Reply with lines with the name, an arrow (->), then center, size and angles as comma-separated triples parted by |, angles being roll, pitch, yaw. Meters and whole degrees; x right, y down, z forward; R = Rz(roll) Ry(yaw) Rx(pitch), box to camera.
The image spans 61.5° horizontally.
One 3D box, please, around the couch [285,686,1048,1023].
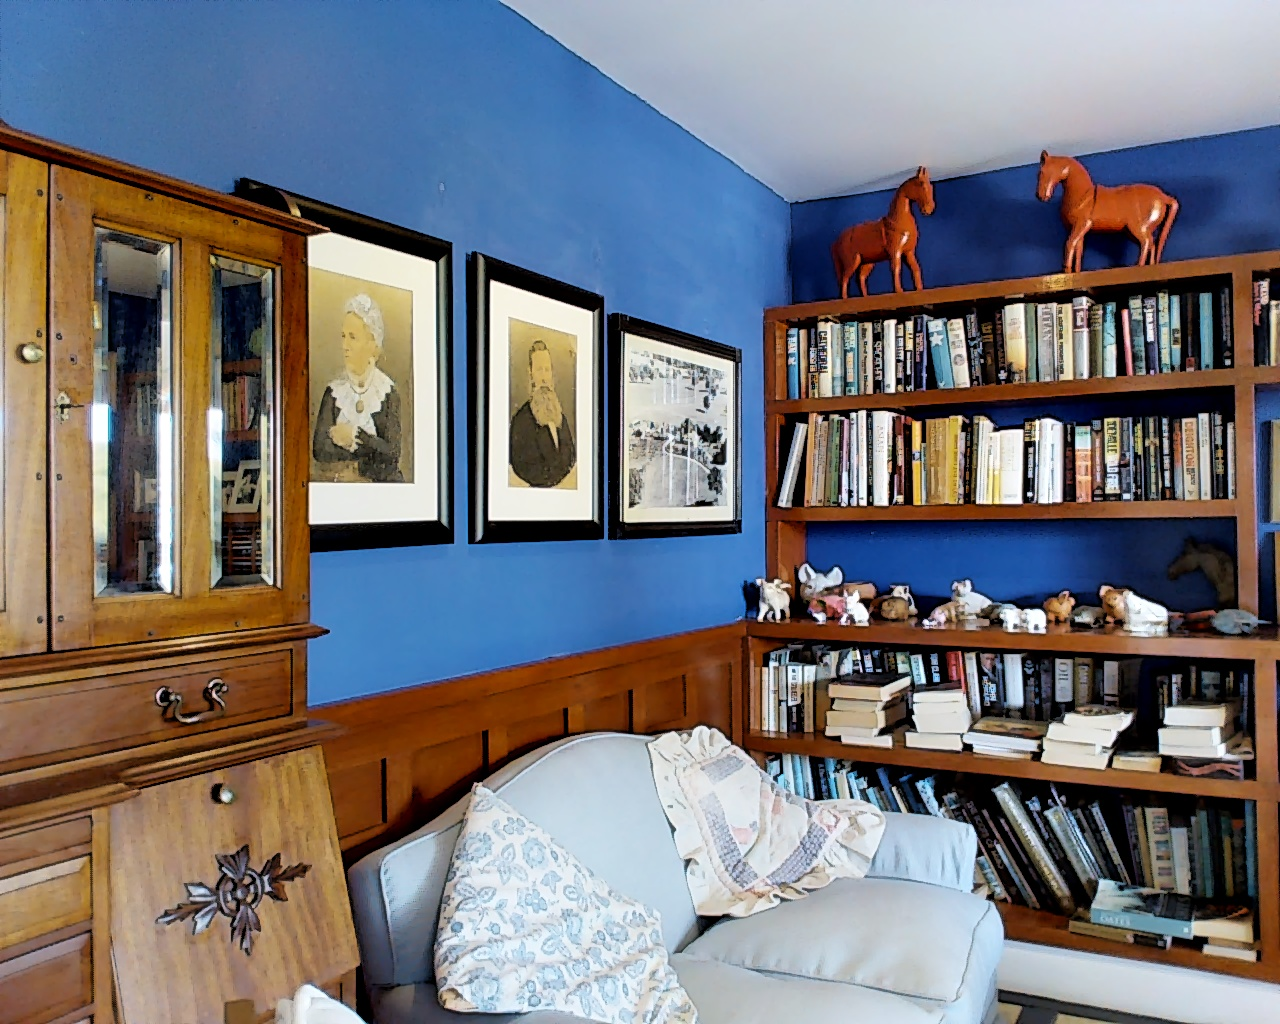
couch -> 0.200, 0.880, 2.110 | 0.910, 0.810, 1.470 | -1, 0, 29
